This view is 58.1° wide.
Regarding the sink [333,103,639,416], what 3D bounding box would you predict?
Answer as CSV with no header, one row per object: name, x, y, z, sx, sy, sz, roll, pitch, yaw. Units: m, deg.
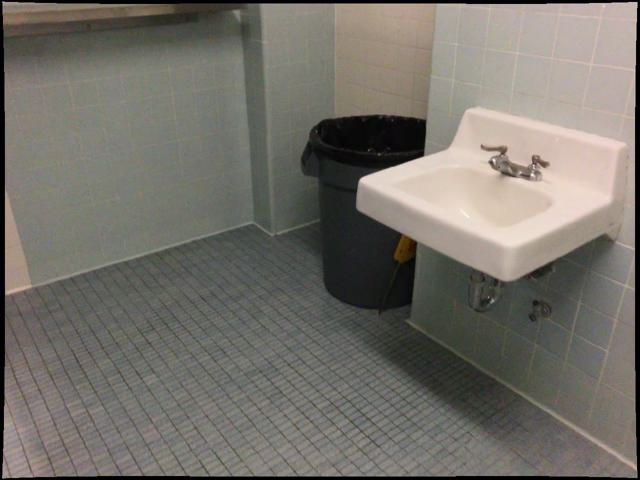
sink,0.419,0.000,1.630,0.479,0.581,0.600,-21,33,-32
